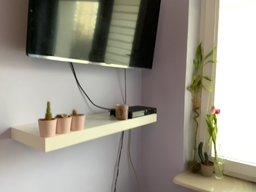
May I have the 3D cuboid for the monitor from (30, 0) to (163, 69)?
[{"bbox_3d":[-0.070,-0.430,1.150,0.030,0.530,0.910,14,12,36],"label":"monitor"}]
